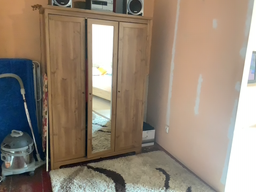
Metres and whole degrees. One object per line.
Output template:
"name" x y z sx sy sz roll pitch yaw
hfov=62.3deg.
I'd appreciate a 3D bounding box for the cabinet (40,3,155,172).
"cabinet" -0.430 -0.120 2.890 1.300 1.890 0.650 -4 14 -25
